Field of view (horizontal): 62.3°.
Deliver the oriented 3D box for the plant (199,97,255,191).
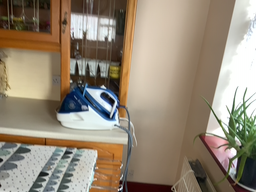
[{"bbox_3d":[0.580,0.250,1.010,0.230,0.370,0.420,4,17,-10],"label":"plant"}]
